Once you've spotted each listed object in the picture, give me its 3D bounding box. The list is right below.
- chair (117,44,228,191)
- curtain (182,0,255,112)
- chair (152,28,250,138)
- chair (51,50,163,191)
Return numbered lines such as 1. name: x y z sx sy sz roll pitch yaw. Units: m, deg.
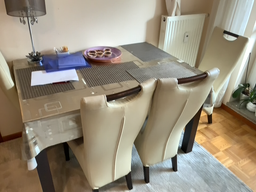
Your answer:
1. chair: 0.240 0.170 1.590 0.450 0.930 0.540 -15 36 -25
2. curtain: 1.060 -1.070 2.010 0.380 2.550 0.540 -13 35 -23
3. chair: 0.670 -0.150 2.150 0.600 0.900 0.480 -13 35 -23
4. chair: -0.160 0.260 1.410 0.430 0.930 0.540 -15 36 -25
